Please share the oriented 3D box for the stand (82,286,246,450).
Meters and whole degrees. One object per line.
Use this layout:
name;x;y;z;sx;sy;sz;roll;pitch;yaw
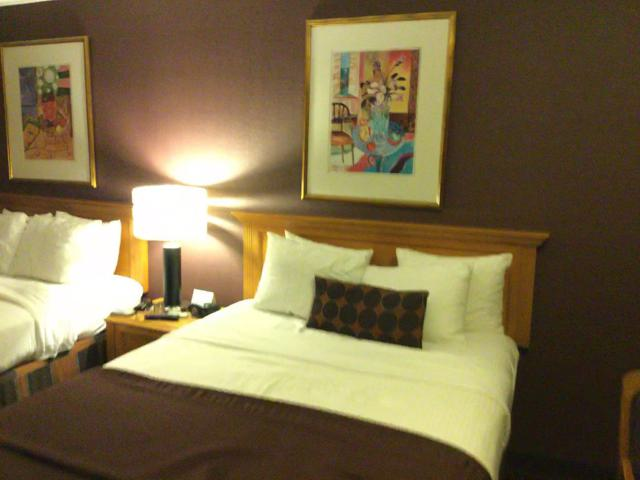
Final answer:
stand;-0.850;0.660;3.180;0.710;0.660;0.480;6;8;21
